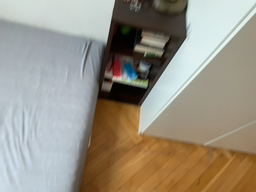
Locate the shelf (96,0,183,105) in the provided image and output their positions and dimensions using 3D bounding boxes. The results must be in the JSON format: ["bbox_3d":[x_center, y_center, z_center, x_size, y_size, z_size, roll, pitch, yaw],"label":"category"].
[{"bbox_3d":[0.020,-0.260,1.210,0.300,0.690,0.310,11,61,-8],"label":"shelf"}]
